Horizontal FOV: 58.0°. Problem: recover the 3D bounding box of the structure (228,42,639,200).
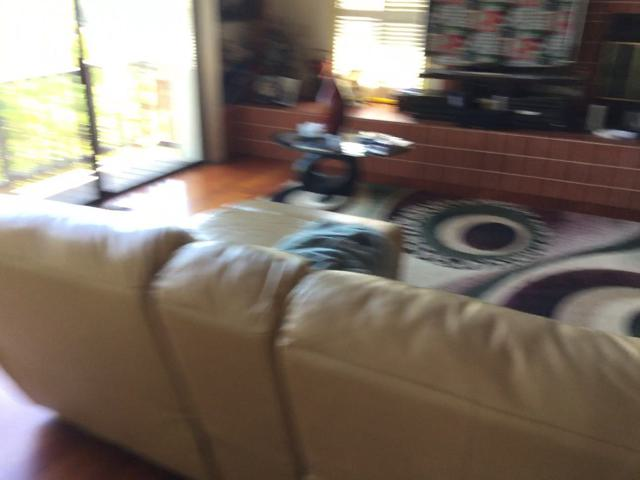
[{"bbox_3d":[1.290,-1.070,4.780,4.410,0.940,0.750,11,26,26],"label":"structure"}]
